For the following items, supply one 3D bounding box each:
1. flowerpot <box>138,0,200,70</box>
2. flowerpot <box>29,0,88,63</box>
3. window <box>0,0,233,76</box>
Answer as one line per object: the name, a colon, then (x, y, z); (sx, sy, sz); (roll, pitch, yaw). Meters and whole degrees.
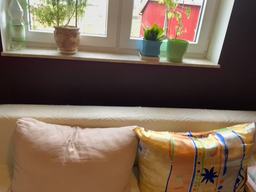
flowerpot: (0.300, -0.590, 1.590); (0.290, 0.720, 0.310); (1, 24, -13)
flowerpot: (-0.440, -0.530, 1.400); (0.330, 0.560, 0.230); (2, 24, -10)
window: (-0.020, -0.910, 1.300); (1.490, 1.500, 0.230); (2, 24, -11)
